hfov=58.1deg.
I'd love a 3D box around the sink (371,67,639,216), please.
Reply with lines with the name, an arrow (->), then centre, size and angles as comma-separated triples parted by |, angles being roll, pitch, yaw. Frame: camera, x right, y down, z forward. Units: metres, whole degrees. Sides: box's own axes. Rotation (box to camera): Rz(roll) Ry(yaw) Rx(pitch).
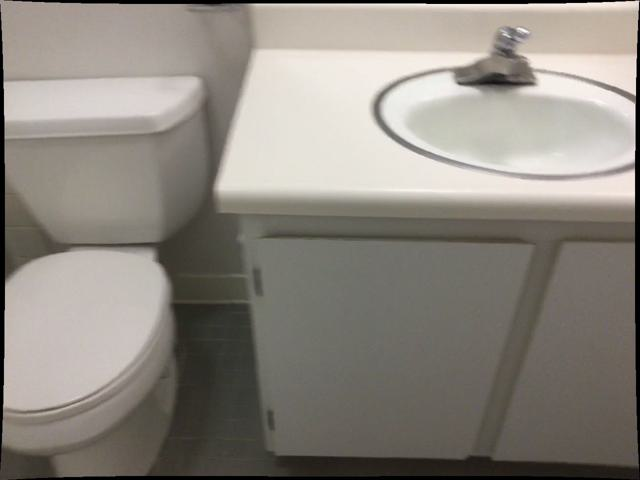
sink -> 0.379, -0.200, 1.120 | 0.529, 0.140, 0.310 | 1, 39, 0

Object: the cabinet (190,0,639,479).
cabinet -> 0.309, 0.030, 1.230 | 0.958, 0.891, 0.580 | 1, 39, 0
